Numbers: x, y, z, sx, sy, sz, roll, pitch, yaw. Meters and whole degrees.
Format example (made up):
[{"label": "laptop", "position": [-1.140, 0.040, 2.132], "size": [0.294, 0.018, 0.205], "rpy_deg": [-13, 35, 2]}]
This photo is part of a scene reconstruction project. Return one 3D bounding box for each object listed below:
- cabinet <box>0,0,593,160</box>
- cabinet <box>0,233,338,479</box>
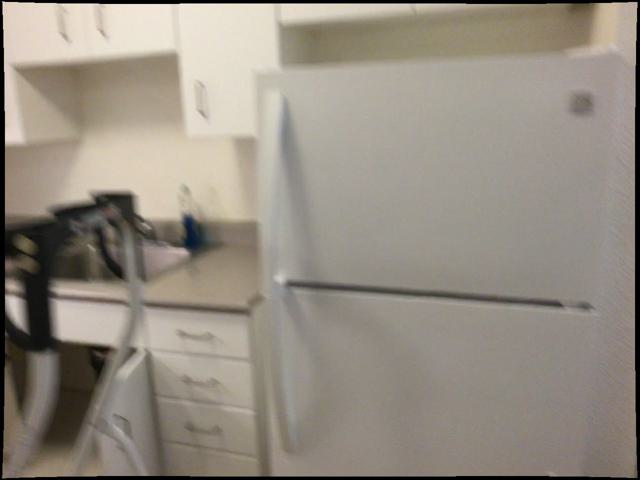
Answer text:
[{"label": "cabinet", "position": [-0.369, -0.692, 1.940], "size": [2.315, 0.772, 0.340], "rpy_deg": [2, 17, 20]}, {"label": "cabinet", "position": [-0.868, 0.571, 2.130], "size": [1.606, 0.922, 0.960], "rpy_deg": [2, 17, 20]}]
